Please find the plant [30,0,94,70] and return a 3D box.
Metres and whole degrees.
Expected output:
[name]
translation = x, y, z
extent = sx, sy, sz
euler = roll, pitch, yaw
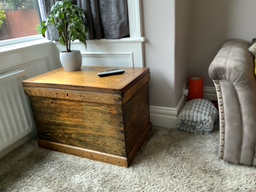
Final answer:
[plant]
translation = -0.550, -0.530, 1.830
extent = 0.350, 0.550, 0.260
euler = 5, 24, 23
